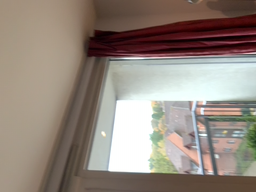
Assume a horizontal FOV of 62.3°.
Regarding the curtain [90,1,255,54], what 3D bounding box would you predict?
[{"bbox_3d":[0.800,-0.570,1.770,0.300,2.180,0.270,83,-170,-49],"label":"curtain"}]
